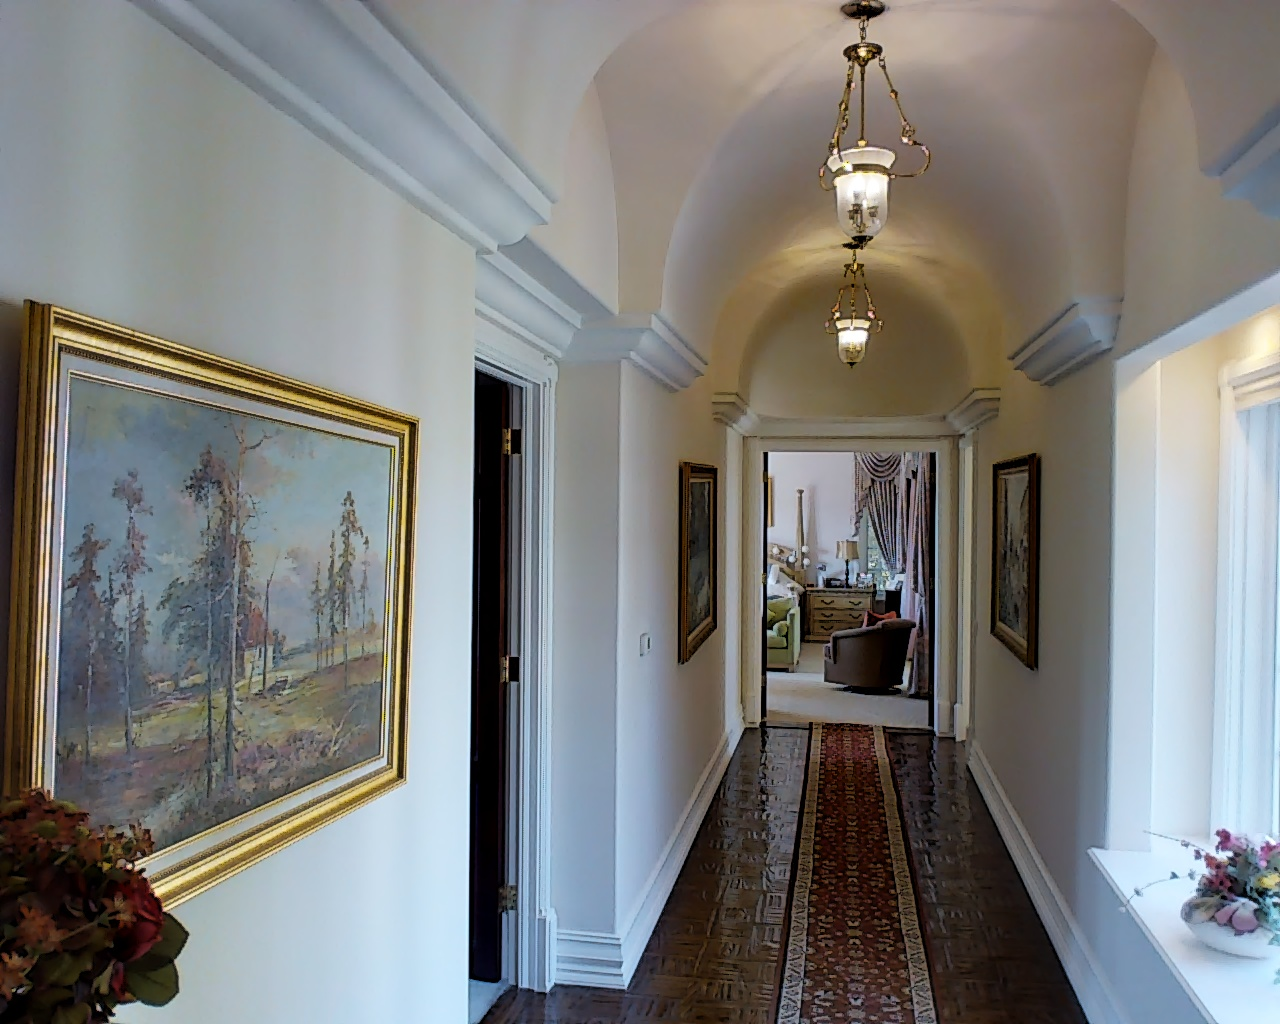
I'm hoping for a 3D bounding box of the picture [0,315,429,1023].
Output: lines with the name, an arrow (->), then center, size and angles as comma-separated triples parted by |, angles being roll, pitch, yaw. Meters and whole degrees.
picture -> -0.570, 0.190, 1.650 | 0.060, 0.790, 1.080 | 1, 0, 11
